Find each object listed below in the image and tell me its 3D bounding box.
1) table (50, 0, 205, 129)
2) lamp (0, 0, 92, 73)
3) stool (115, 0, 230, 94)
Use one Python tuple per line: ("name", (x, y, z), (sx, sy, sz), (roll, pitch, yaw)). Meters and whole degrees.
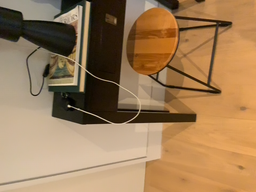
("table", (0.070, -0.270, 1.120), (0.260, 0.800, 0.820), (4, 89, 46))
("lamp", (-0.400, -0.240, 0.610), (0.300, 0.490, 0.270), (4, 89, 46))
("stool", (0.250, -0.250, 1.180), (0.390, 0.450, 0.400), (10, 93, 46))
